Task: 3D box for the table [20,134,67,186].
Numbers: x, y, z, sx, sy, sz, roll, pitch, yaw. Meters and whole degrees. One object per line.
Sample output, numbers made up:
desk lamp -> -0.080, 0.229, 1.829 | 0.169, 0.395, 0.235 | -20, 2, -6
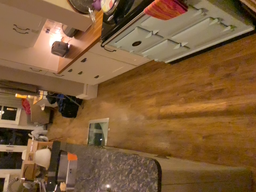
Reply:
table -> -2.300, 1.610, 5.630 | 1.720, 0.730, 1.000 | -7, 74, 58
